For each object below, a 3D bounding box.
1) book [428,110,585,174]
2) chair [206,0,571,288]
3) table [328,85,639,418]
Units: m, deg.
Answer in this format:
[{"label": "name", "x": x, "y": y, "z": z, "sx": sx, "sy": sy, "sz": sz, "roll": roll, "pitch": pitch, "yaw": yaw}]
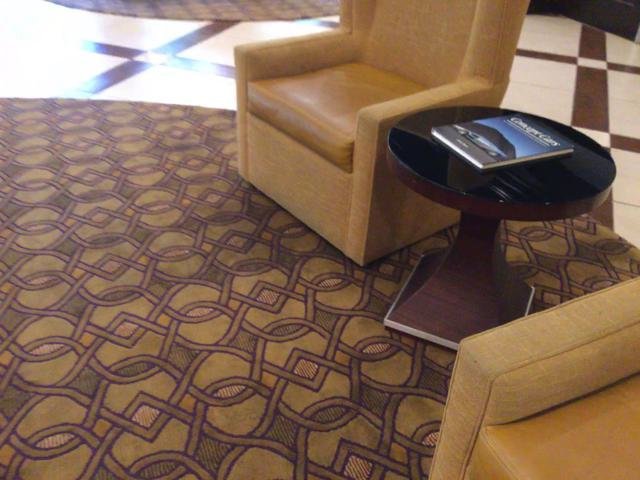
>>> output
[{"label": "book", "x": 0.510, "y": -0.280, "z": 1.600, "sx": 0.340, "sy": 0.040, "sz": 0.240, "roll": -11, "pitch": 37, "yaw": -20}, {"label": "chair", "x": 0.210, "y": -0.640, "z": 2.230, "sx": 0.890, "sy": 1.070, "sz": 0.950, "roll": -23, "pitch": 42, "yaw": -32}, {"label": "table", "x": 0.460, "y": -0.010, "z": 1.770, "sx": 0.630, "sy": 0.670, "sz": 0.620, "roll": -13, "pitch": 38, "yaw": -22}]
